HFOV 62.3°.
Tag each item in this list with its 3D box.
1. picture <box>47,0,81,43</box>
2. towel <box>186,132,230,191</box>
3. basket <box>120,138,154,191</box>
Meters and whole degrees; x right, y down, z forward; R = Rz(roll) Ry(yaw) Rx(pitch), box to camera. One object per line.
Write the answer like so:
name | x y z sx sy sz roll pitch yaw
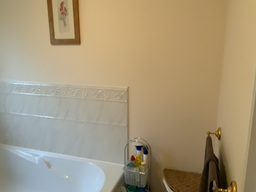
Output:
picture | -0.510 -0.650 1.690 0.280 0.440 0.030 5 13 19
towel | 0.380 0.510 1.100 0.150 0.460 0.540 4 13 17
basket | 0.070 0.740 1.670 0.200 0.770 0.200 5 13 19
